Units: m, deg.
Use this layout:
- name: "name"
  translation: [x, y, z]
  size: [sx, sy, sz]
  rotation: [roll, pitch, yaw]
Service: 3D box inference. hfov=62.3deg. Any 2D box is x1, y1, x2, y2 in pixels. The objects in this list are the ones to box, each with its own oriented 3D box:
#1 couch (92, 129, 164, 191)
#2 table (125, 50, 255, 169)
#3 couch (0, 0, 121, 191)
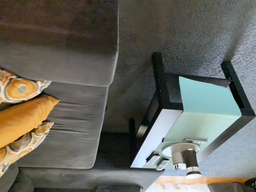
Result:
- name: "couch"
  translation: [-0.060, 0.810, 2.480]
  size: [0.650, 0.410, 0.950]
  rotation: [5, 143, -9]
- name: "table"
  translation: [0.340, 0.180, 1.640]
  size: [0.580, 0.450, 0.910]
  rotation: [5, 143, -9]
- name: "couch"
  translation: [-0.780, 0.430, 1.600]
  size: [1.100, 0.810, 2.450]
  rotation: [5, 143, -9]
